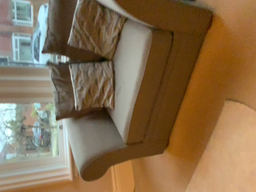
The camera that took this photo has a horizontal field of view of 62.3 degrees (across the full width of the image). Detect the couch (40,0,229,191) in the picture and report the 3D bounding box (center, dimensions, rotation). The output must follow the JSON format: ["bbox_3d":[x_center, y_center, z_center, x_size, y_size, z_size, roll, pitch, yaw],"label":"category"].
[{"bbox_3d":[-0.150,-0.190,1.730,0.950,0.960,1.570,50,135,51],"label":"couch"}]

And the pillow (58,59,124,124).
[{"bbox_3d":[-0.300,-0.040,1.770,0.360,0.400,0.110,57,163,-26],"label":"pillow"}]
